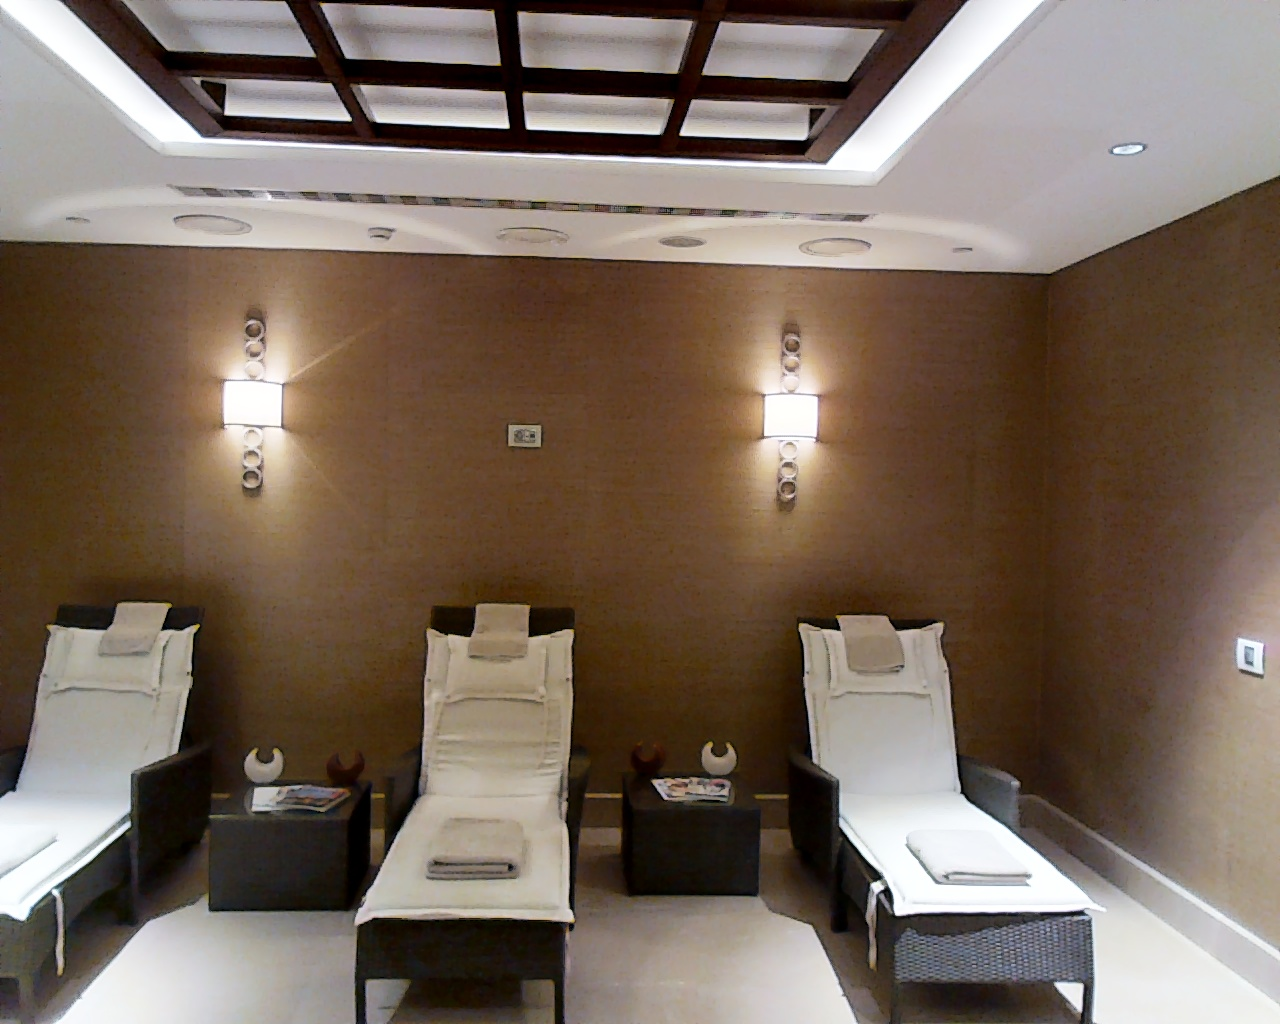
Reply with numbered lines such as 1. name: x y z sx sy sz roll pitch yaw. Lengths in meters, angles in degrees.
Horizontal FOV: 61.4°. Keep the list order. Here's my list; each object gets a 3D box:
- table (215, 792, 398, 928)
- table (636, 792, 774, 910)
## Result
1. table: -1.260 1.320 4.130 0.580 0.380 0.420 1 1 -3
2. table: 0.250 1.350 4.320 0.510 0.360 0.340 1 1 -3
